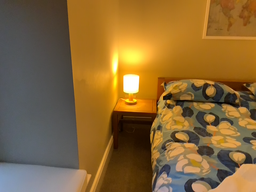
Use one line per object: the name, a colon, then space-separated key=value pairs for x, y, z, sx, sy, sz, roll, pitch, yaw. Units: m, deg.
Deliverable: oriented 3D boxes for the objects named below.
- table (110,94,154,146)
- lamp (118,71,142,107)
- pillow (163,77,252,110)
table: x=0.060 y=0.260 z=2.490 sx=0.460 sy=0.420 sz=0.470 roll=4 pitch=20 yaw=7
lamp: x=0.030 y=-0.090 z=2.380 sx=0.230 sy=0.310 sz=0.320 roll=3 pitch=20 yaw=5
pillow: x=0.760 y=-0.040 z=2.170 sx=0.770 sy=0.170 sz=0.380 roll=4 pitch=20 yaw=6
